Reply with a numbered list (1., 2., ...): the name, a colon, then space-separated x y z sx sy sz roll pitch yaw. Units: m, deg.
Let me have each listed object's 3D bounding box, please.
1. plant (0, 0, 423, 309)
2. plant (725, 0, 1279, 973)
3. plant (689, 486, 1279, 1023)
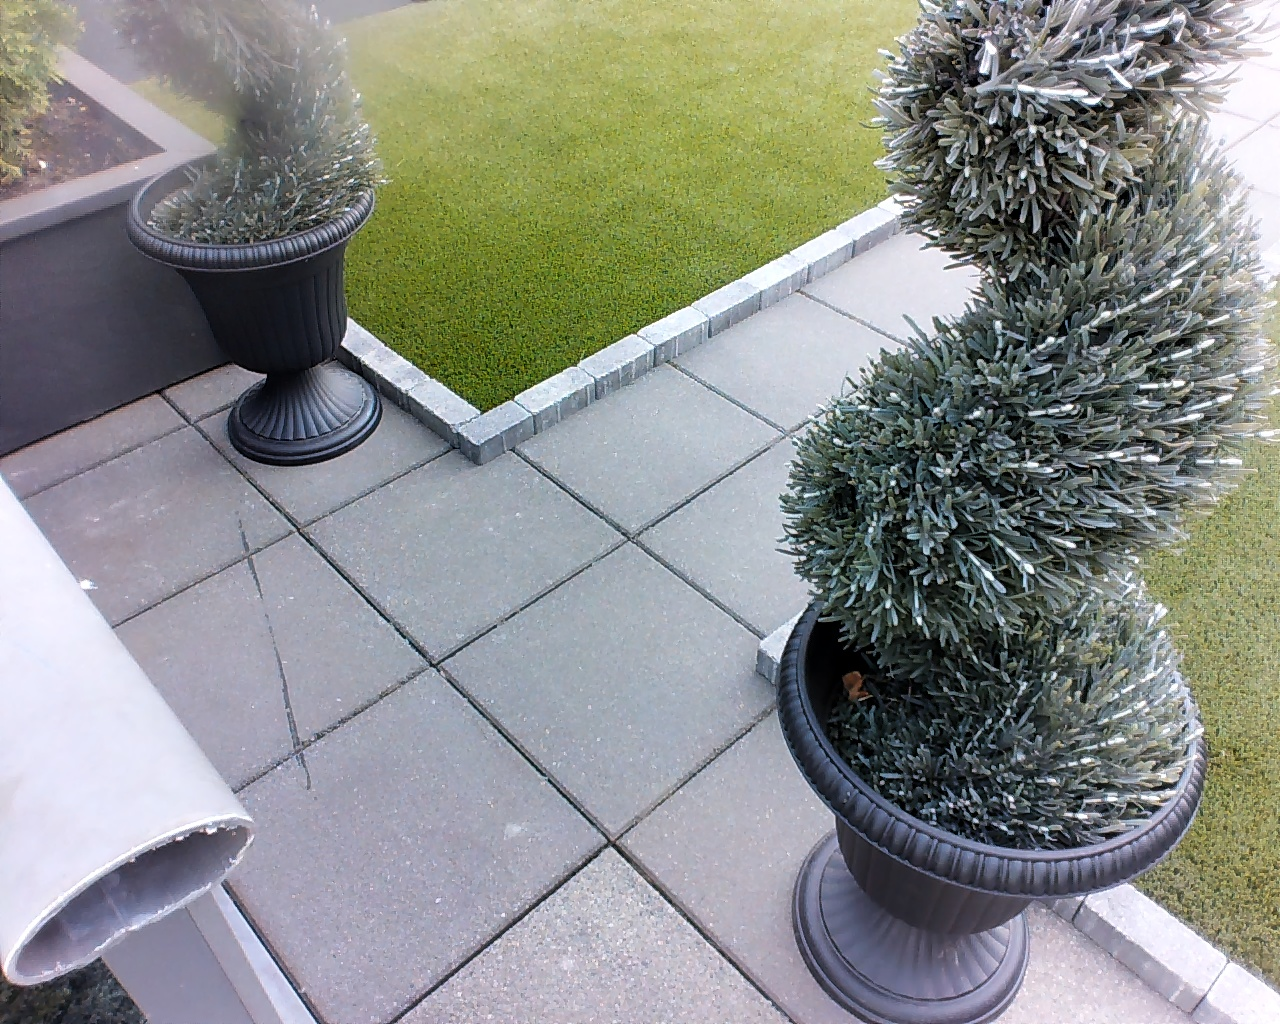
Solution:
1. plant: -0.730 -1.000 1.620 0.440 1.230 0.430 25 49 25
2. plant: 0.400 -0.230 0.790 0.420 1.230 0.450 -32 52 -28
3. plant: 0.390 0.380 1.330 0.470 0.530 0.440 -32 52 -28
